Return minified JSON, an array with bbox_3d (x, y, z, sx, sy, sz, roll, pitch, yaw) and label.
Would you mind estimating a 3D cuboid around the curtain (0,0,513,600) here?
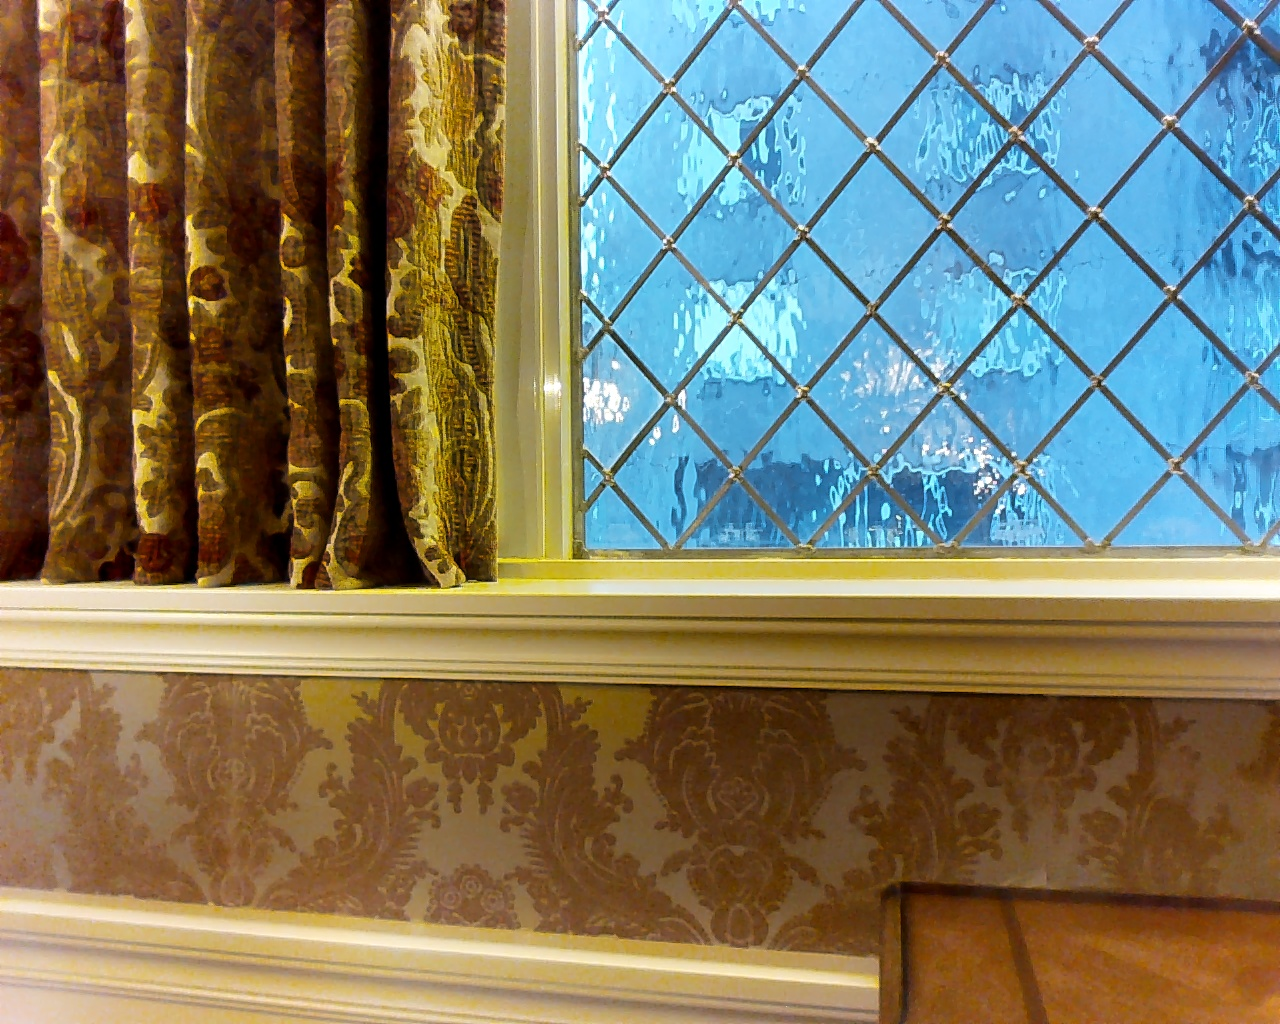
[{"bbox_3d":[-0.560,-0.530,1.020,0.860,1.210,0.140,-1,0,12],"label":"curtain"}]
